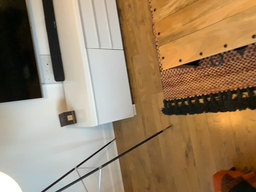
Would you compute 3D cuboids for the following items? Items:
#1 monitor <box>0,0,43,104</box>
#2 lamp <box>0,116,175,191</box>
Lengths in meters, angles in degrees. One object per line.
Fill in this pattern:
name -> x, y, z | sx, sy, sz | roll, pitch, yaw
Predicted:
monitor -> -1.090, -0.540, 1.590 | 0.040, 0.690, 1.220 | -13, 87, 48
lamp -> -0.430, 0.590, 1.450 | 0.630, 1.500, 0.600 | -13, 87, 48
